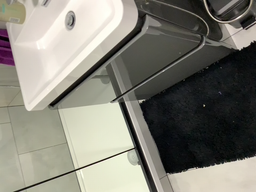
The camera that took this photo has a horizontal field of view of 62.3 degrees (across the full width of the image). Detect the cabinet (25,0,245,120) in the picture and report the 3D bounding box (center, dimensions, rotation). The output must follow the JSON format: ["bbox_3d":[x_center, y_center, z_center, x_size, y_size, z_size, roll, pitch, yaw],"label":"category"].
[{"bbox_3d":[0.050,-0.250,1.020,0.620,0.750,0.440,-31,73,39],"label":"cabinet"}]
